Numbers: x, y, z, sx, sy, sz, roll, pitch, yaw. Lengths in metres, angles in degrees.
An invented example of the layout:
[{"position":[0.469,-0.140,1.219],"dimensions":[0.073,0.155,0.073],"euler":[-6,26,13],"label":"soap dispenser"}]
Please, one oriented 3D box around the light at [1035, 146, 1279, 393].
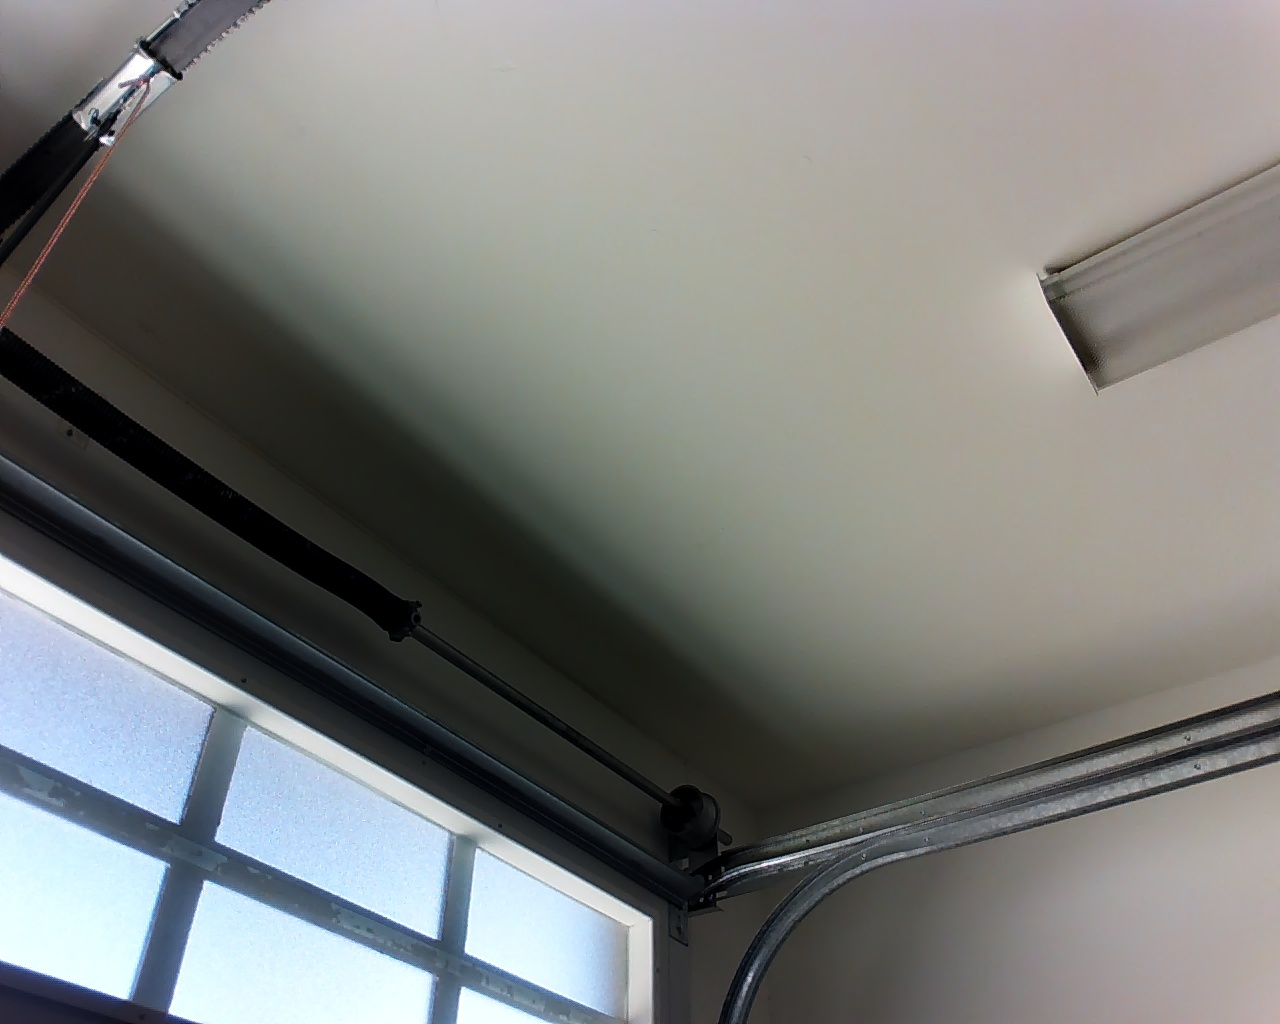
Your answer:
[{"position":[1.120,-0.500,1.300],"dimensions":[1.230,0.070,0.210],"euler":[-26,-48,27],"label":"light"}]
